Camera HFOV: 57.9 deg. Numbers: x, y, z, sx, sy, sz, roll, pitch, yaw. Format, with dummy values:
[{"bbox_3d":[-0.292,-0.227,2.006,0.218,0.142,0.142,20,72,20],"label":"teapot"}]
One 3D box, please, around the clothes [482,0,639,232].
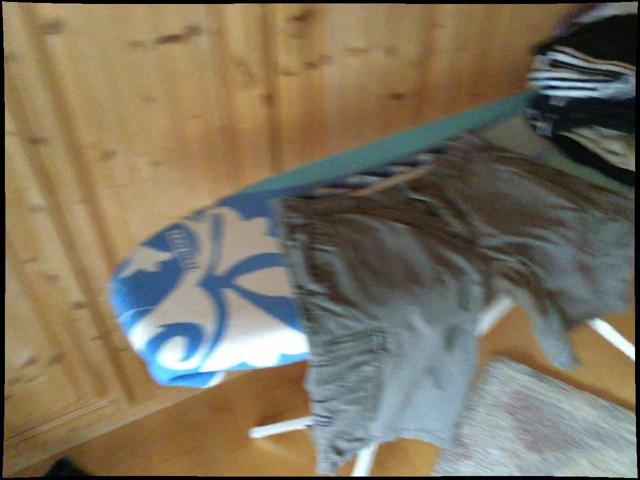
[{"bbox_3d":[0.649,-0.300,1.070,0.510,0.240,0.390,-19,47,-17],"label":"clothes"}]
